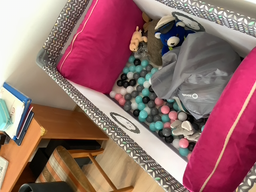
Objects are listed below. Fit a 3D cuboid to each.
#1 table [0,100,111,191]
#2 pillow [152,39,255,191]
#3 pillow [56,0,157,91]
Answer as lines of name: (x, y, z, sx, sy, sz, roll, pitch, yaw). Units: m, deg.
table: (-0.650, 0.460, 1.650, 0.490, 0.730, 0.570, 38, 99, 31)
pillow: (0.410, 0.080, 0.890, 0.240, 0.410, 0.550, 39, 123, 31)
pillow: (-0.150, -0.360, 1.430, 0.300, 0.460, 0.530, 40, 121, 30)
